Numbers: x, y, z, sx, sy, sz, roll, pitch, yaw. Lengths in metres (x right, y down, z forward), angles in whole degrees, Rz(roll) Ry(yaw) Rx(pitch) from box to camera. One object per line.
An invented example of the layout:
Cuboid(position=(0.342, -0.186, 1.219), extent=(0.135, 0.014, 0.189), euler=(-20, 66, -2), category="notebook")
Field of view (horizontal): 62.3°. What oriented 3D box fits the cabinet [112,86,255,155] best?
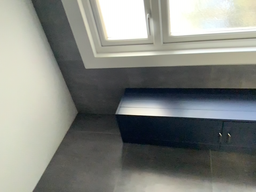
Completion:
Cuboid(position=(0.640, 0.160, 1.490), extent=(0.320, 1.440, 0.320), euler=(-69, -25, -49), category="cabinet")
